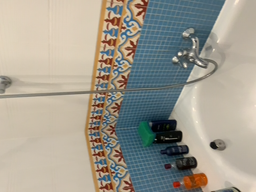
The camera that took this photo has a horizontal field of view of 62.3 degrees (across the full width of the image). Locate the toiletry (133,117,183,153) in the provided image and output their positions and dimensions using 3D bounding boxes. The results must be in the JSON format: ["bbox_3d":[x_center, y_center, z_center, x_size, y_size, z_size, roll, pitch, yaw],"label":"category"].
[{"bbox_3d":[0.190,0.250,1.390,0.190,0.250,0.100,-112,29,-41],"label":"toiletry"}]

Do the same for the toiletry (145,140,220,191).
[{"bbox_3d":[0.300,0.470,1.140,0.440,0.250,0.140,-115,31,-45],"label":"toiletry"}]
